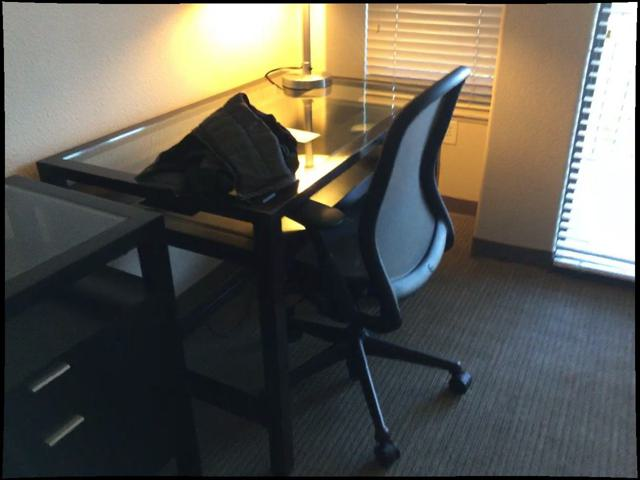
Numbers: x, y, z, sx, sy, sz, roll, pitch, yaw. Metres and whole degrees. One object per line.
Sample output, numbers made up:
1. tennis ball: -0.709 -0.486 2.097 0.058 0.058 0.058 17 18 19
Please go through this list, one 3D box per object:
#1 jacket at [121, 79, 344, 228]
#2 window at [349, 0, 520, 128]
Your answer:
1. jacket: -0.190 -0.241 1.430 0.339 0.190 0.440 14 32 24
2. window: 0.509 -1.524 2.400 0.749 2.024 0.170 14 32 24
